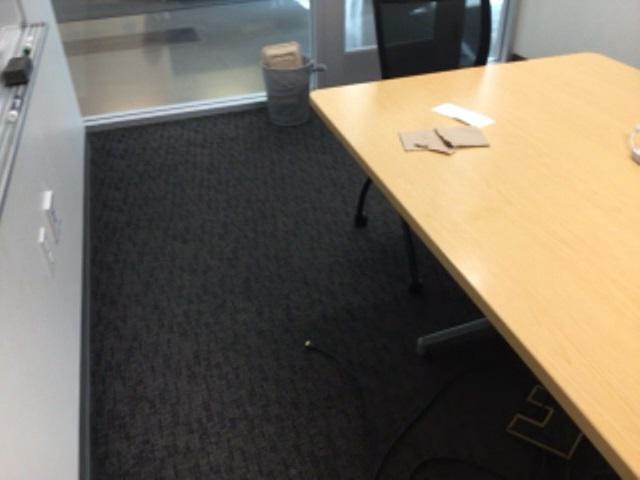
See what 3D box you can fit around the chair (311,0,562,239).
[{"bbox_3d":[0.350,-0.480,2.000,0.610,0.680,0.500,-12,36,-13],"label":"chair"}]
